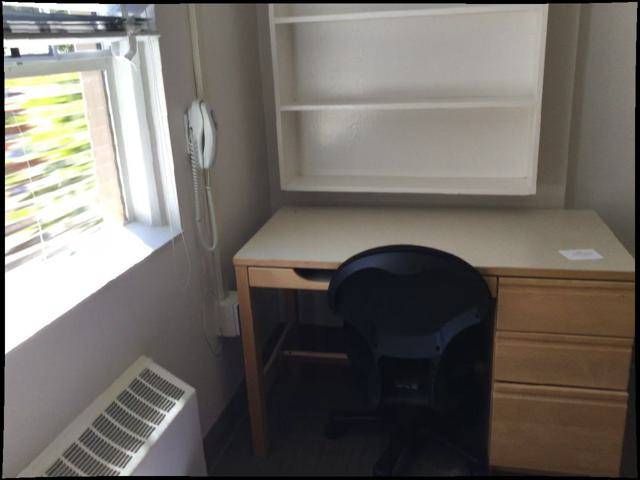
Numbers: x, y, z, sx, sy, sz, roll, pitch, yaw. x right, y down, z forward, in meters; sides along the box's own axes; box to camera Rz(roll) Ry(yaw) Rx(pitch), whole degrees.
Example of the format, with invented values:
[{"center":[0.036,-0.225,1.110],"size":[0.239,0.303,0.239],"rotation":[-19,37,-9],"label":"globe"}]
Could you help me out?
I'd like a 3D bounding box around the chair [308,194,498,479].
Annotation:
[{"center":[0.309,0.341,2.000],"size":[0.519,0.862,0.560],"rotation":[0,22,12],"label":"chair"}]
